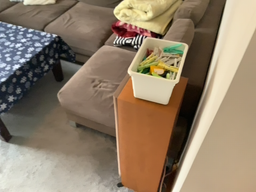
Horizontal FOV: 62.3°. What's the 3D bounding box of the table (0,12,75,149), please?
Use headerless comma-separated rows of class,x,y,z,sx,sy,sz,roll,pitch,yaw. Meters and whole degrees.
table,-1.200,-0.230,1.920,0.920,0.500,1.030,19,49,16

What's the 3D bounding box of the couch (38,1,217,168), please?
couch,0.030,-0.110,1.630,0.920,0.800,0.700,19,49,16

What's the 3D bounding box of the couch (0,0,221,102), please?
couch,-0.670,-1.030,2.460,3.130,0.840,1.130,16,48,14
